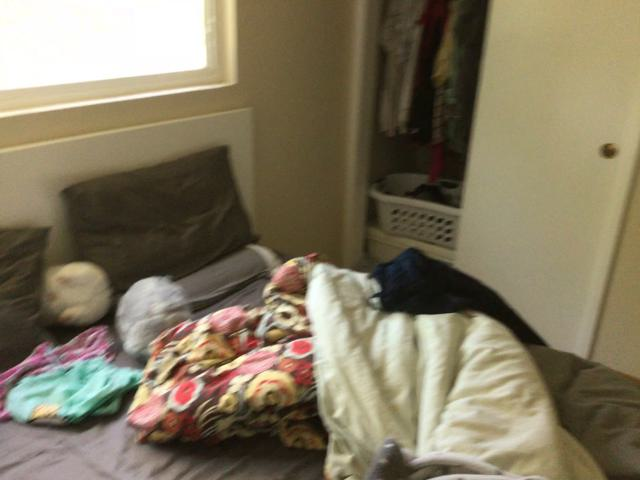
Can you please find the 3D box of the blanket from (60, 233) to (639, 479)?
[{"bbox_3d":[0.340,0.410,1.060,0.900,0.300,1.280,15,27,36],"label":"blanket"}]

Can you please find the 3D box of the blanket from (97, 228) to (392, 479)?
[{"bbox_3d":[-0.160,0.240,1.450,0.440,0.310,0.560,15,27,36],"label":"blanket"}]
